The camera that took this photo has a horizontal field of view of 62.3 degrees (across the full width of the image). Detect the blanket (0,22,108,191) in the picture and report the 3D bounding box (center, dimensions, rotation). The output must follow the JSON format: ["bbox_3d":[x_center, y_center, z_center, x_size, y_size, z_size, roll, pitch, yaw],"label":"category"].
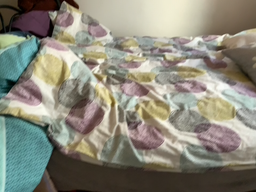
[{"bbox_3d":[-0.450,0.040,0.750,0.720,0.420,0.830,-1,30,-3],"label":"blanket"}]
